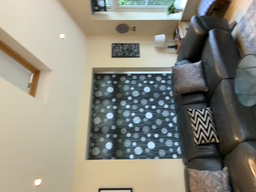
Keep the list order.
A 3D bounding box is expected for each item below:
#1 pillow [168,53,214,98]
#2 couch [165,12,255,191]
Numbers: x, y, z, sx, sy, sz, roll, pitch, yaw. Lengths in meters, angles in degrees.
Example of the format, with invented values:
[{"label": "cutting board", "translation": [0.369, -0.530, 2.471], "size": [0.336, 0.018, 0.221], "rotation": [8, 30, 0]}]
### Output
[{"label": "pillow", "translation": [0.860, -0.290, 2.950], "size": [0.530, 0.360, 0.160], "rotation": [62, 166, 23]}, {"label": "couch", "translation": [1.090, 0.410, 2.600], "size": [1.030, 0.780, 2.910], "rotation": [93, 176, -62]}]
